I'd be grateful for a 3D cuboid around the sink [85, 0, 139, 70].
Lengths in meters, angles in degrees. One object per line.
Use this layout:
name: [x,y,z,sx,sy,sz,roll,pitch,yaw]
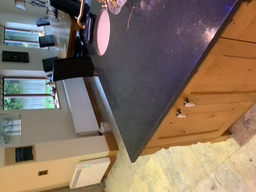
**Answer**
sink: [-0.170,-0.570,1.840,0.460,0.220,0.490,64,144,38]
